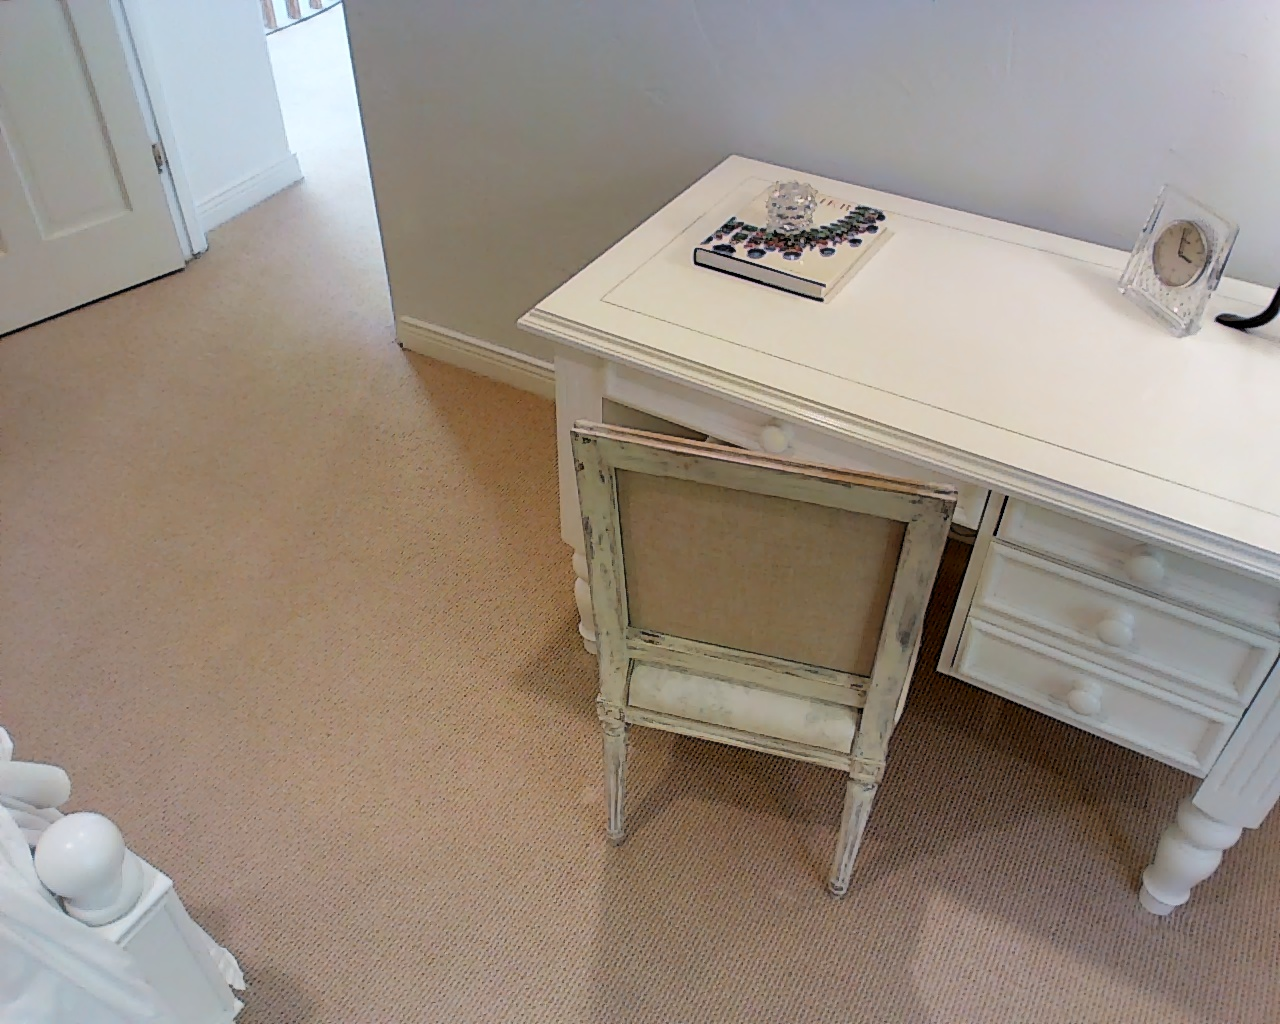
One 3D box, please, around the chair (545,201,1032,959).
[{"bbox_3d":[0.210,0.120,1.620,0.500,0.930,0.580,9,42,10],"label":"chair"}]
